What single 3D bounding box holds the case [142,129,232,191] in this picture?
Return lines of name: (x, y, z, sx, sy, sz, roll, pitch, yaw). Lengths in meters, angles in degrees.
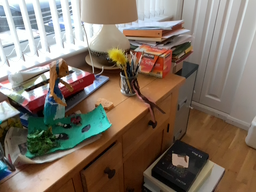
case: (0.340, 0.510, 1.270, 0.330, 0.350, 0.430, 23, 39, 31)
